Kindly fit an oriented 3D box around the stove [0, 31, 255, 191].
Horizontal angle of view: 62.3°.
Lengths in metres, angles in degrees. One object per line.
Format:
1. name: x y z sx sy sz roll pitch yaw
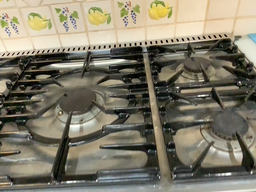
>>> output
1. stove: -0.130 0.050 0.650 1.110 0.180 0.610 -4 39 2
